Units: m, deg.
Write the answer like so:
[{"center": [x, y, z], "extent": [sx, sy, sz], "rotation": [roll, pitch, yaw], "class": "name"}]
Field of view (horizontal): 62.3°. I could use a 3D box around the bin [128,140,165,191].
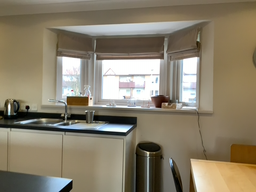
[{"center": [0.210, 0.900, 2.330], "extent": [0.350, 0.730, 0.330], "rotation": [2, 2, 13], "class": "bin"}]
